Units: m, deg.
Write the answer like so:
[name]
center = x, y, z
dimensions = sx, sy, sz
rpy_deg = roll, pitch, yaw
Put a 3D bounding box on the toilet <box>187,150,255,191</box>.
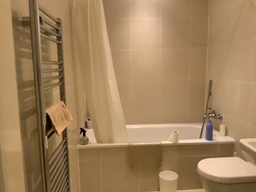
[toilet]
center = 0.880, 0.760, 1.890
dimensions = 0.580, 0.410, 0.380
rpy_deg = -2, 8, -3
